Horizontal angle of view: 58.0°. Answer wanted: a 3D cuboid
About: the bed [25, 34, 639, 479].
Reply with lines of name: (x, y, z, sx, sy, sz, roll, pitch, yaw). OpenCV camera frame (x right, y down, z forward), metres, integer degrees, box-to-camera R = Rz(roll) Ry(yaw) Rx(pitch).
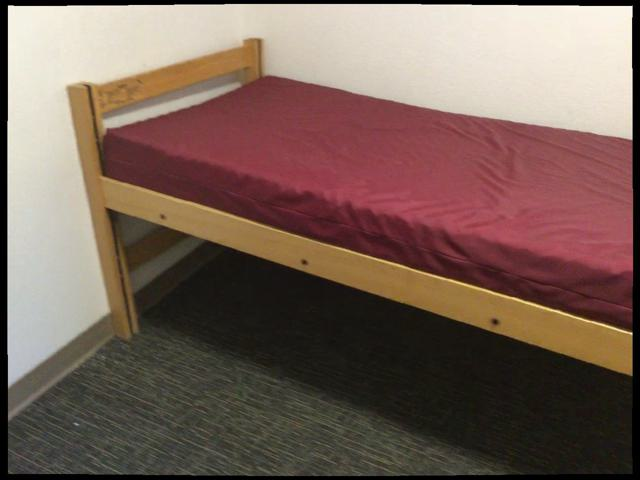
bed: (0.399, 0.010, 1.920, 2.277, 0.941, 1.120, 15, 33, 22)
